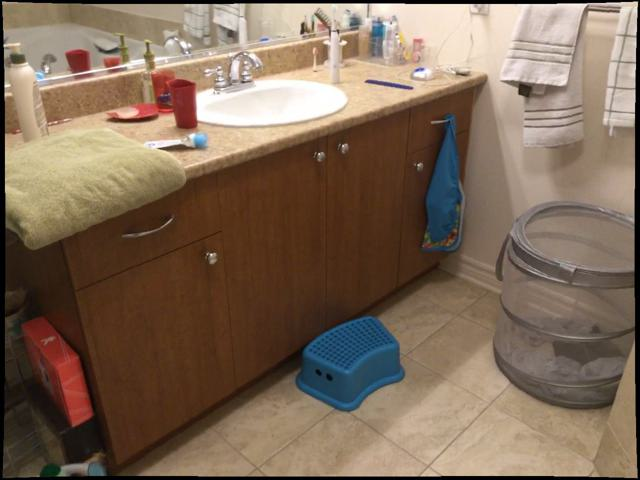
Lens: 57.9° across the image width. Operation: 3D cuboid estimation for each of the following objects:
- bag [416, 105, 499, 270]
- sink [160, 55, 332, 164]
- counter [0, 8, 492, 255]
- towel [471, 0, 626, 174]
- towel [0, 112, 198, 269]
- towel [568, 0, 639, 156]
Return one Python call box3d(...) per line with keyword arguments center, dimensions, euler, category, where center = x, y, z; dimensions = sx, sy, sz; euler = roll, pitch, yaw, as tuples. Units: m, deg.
box3d(center=(0.499, -0.190, 2.130), dimensions=(0.100, 0.540, 0.280), euler=(26, 40, 35), category="bag")
box3d(center=(-0.220, -0.420, 1.790), dimensions=(0.330, 0.170, 0.400), euler=(26, 40, 35), category="sink")
box3d(center=(-0.170, -0.460, 1.740), dimensions=(0.650, 0.180, 1.550), euler=(26, 40, 35), category="counter")
box3d(center=(0.709, -0.511, 1.850), dimensions=(0.330, 0.490, 0.170), euler=(26, 40, 35), category="towel")
box3d(center=(-0.519, -0.130, 1.210), dimensions=(0.330, 0.110, 0.390), euler=(26, 40, 35), category="towel")
box3d(center=(0.919, -0.470, 1.680), dimensions=(0.250, 0.390, 0.150), euler=(26, 40, 35), category="towel")
